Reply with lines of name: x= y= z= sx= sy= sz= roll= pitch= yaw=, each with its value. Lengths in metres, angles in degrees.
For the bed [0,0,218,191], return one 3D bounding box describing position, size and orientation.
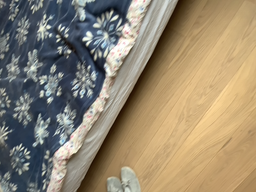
bed: x=-0.440 y=-0.510 z=1.240 sx=1.520 sy=0.470 sz=2.050 roll=42 pitch=115 yaw=29
